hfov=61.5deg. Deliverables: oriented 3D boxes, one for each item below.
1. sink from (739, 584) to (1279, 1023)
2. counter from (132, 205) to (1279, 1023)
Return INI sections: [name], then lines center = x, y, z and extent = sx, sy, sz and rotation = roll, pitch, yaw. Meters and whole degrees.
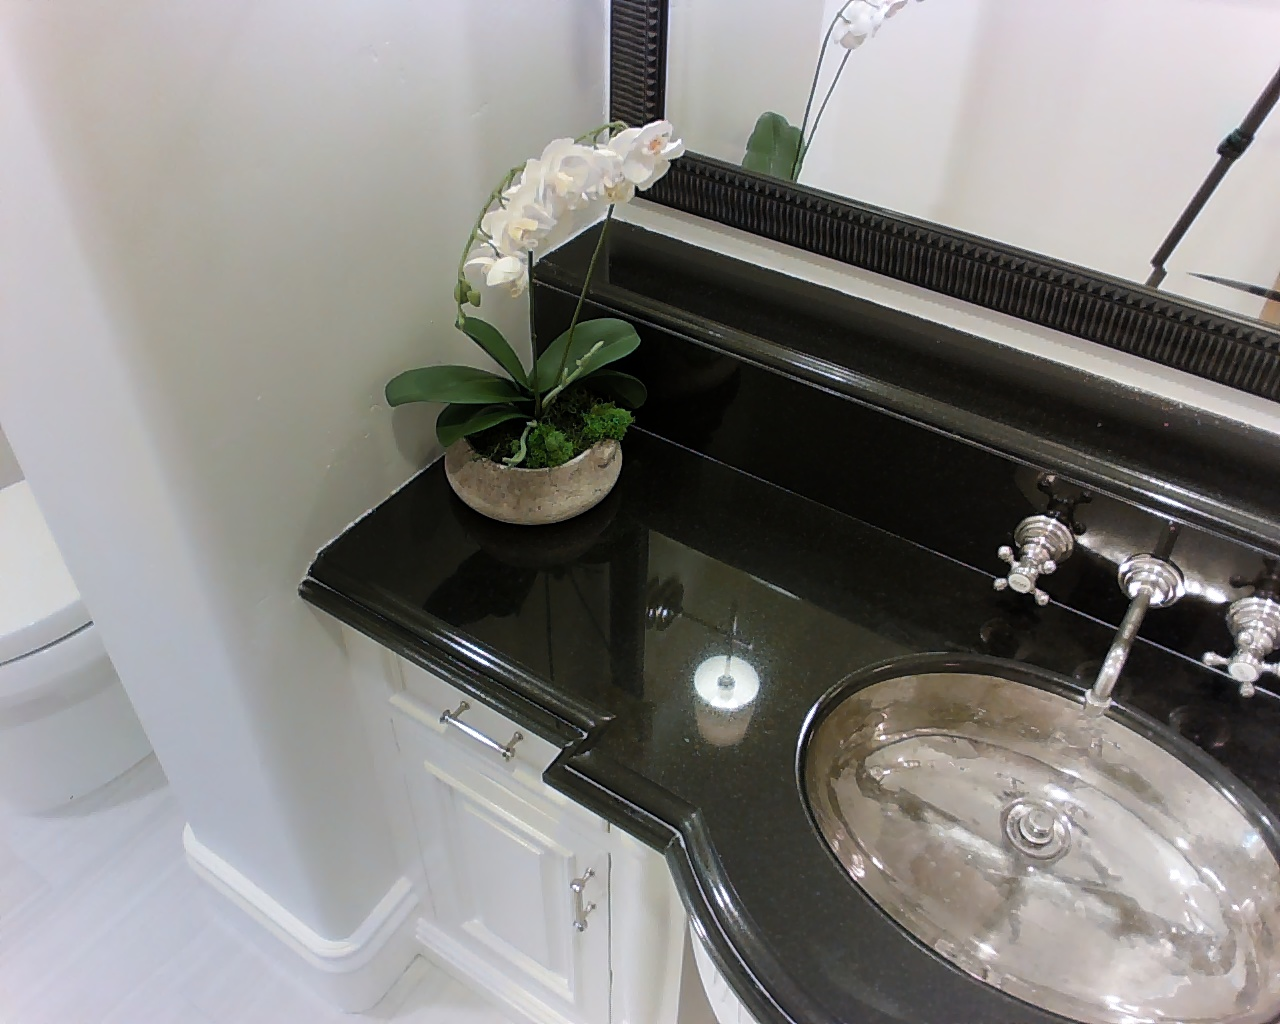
[sink]
center = 0.370, 0.310, 1.000
extent = 0.430, 0.150, 0.340
rotation = 26, 48, 25
[counter]
center = 0.370, 0.230, 0.910
extent = 1.530, 0.370, 0.600
rotation = 25, 48, 24
